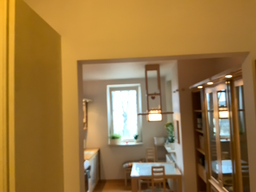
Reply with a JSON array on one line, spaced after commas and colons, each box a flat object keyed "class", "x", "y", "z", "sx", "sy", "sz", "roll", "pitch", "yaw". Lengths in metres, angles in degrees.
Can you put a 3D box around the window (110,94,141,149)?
[{"class": "window", "x": -0.070, "y": 0.680, "z": 5.700, "sx": 0.790, "sy": 1.440, "sz": 0.200, "roll": -1, "pitch": -7, "yaw": -1}]
